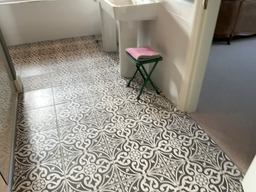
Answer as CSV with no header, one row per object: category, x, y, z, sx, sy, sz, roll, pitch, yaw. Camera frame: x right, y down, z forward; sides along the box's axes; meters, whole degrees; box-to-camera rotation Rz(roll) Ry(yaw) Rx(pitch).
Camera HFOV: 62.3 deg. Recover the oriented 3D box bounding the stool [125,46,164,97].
stool,0.150,-0.250,2.140,0.280,0.380,0.280,-13,38,-17
